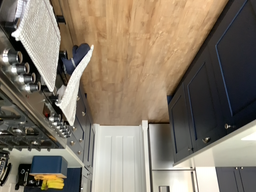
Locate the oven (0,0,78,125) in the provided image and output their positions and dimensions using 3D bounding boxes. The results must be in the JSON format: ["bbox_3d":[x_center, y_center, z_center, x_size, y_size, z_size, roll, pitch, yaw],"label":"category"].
[{"bbox_3d":[-0.700,-0.250,1.380,0.620,0.760,0.470,1,155,-5],"label":"oven"}]
